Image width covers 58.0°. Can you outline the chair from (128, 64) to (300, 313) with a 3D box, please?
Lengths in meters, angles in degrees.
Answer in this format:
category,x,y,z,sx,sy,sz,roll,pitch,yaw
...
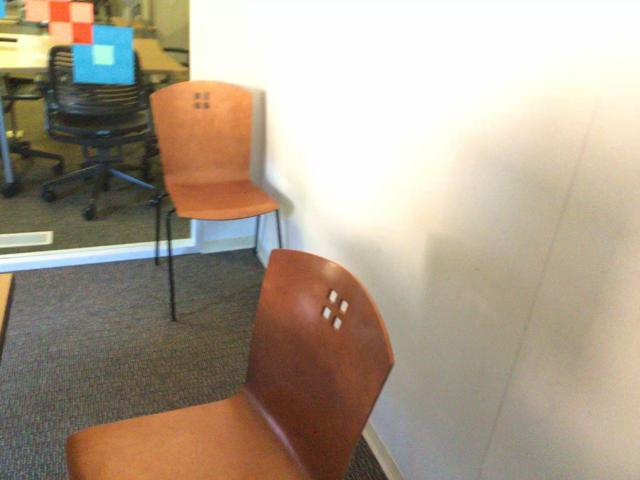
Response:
category,x,y,z,sx,sy,sz,roll,pitch,yaw
chair,-0.470,-0.230,2.400,0.540,0.840,0.550,-5,30,-22

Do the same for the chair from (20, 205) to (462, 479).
category,x,y,z,sx,sy,sz,roll,pitch,yaw
chair,-0.210,0.430,1.160,0.580,0.780,0.570,-8,31,-27
